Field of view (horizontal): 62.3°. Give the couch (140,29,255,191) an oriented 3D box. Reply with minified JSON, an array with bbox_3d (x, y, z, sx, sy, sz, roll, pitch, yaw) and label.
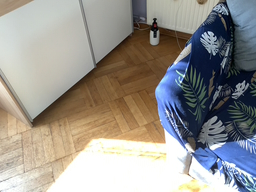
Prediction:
[{"bbox_3d":[0.660,0.230,1.030,1.060,0.690,0.540,22,52,24],"label":"couch"}]
